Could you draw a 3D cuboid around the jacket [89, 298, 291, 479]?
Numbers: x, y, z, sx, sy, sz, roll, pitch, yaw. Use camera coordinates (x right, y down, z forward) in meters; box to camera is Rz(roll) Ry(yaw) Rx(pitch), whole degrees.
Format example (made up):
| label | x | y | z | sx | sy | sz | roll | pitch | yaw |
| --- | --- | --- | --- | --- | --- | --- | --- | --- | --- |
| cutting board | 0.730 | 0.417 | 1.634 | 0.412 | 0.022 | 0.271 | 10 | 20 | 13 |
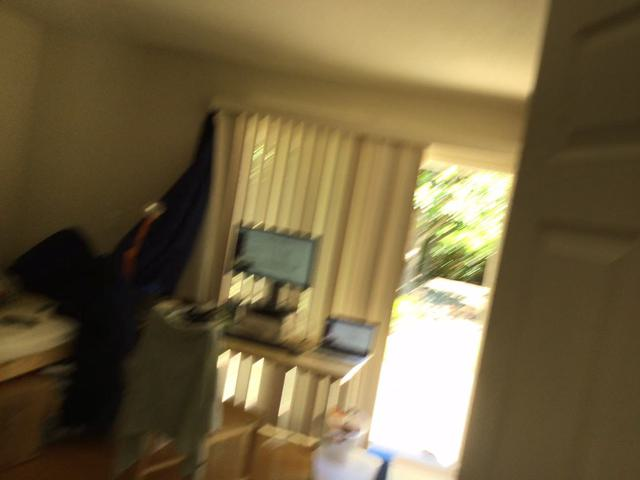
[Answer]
| label | x | y | z | sx | sy | sz | roll | pitch | yaw |
| --- | --- | --- | --- | --- | --- | --- | --- | --- | --- |
| jacket | -0.620 | 0.810 | 2.810 | 0.550 | 0.940 | 0.560 | 14 | 1 | 26 |
